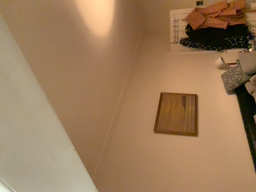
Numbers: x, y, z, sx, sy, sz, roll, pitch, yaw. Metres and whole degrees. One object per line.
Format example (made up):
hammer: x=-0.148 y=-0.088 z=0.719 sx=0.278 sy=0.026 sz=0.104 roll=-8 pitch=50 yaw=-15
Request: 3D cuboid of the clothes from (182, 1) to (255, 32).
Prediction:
clothes: x=1.670 y=-1.470 z=3.950 sx=0.180 sy=1.290 sz=0.410 roll=-63 pitch=-31 yaw=-59

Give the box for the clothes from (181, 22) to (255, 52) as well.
clothes: x=1.690 y=-1.130 z=4.120 sx=0.210 sy=1.290 sz=0.450 roll=-59 pitch=-34 yaw=-63
